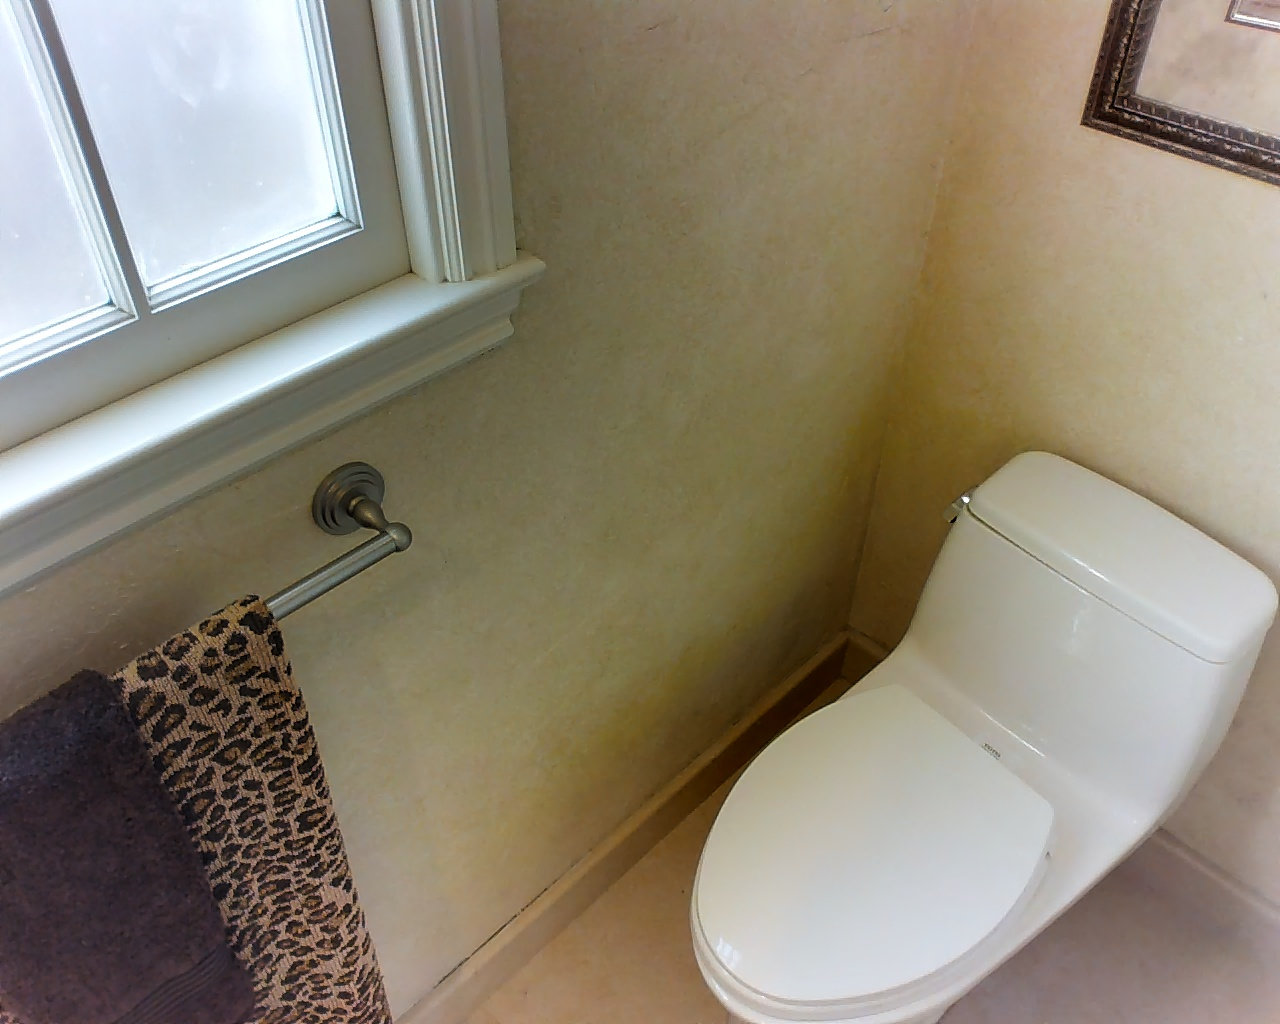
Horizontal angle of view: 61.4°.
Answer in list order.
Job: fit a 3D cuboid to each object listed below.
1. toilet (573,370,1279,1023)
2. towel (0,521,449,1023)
[{"bbox_3d":[0.370,0.390,1.450,0.550,0.780,0.720,-34,52,-32],"label":"toilet"},{"bbox_3d":[-0.420,0.420,0.950,0.160,0.740,0.420,33,52,32],"label":"towel"}]
